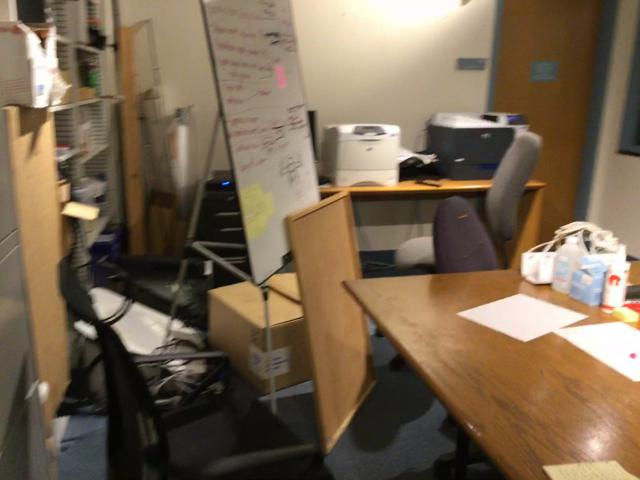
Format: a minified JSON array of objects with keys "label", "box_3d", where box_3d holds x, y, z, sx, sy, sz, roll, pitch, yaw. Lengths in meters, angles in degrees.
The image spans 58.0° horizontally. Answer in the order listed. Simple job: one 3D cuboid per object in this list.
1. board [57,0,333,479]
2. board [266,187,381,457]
[{"label":"board","box_3d":[-0.310,-0.180,1.890,0.540,1.700,0.790,4,16,11]},{"label":"board","box_3d":[0.050,0.300,2.280,0.090,0.880,0.570,-3,21,24]}]
